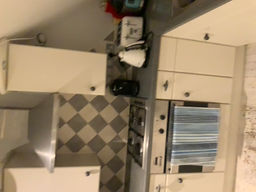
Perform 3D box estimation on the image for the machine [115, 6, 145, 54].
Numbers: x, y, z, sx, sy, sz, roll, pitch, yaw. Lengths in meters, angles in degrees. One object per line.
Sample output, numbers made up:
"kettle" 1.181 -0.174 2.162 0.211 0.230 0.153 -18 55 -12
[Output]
"machine" 0.010 -0.590 1.950 0.290 0.190 0.330 -173 87 -75
